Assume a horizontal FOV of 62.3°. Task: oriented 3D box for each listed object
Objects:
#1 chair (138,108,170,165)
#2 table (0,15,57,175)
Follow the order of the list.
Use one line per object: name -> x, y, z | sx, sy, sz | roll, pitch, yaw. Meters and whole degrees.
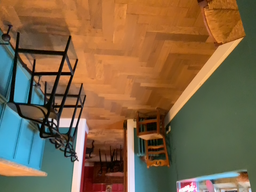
chair -> 0.480, 0.760, 3.900 | 0.440, 0.920, 0.540 | -8, 155, 16
table -> -1.430, 0.240, 2.410 | 0.620, 1.110, 2.140 | 1, 156, -4
